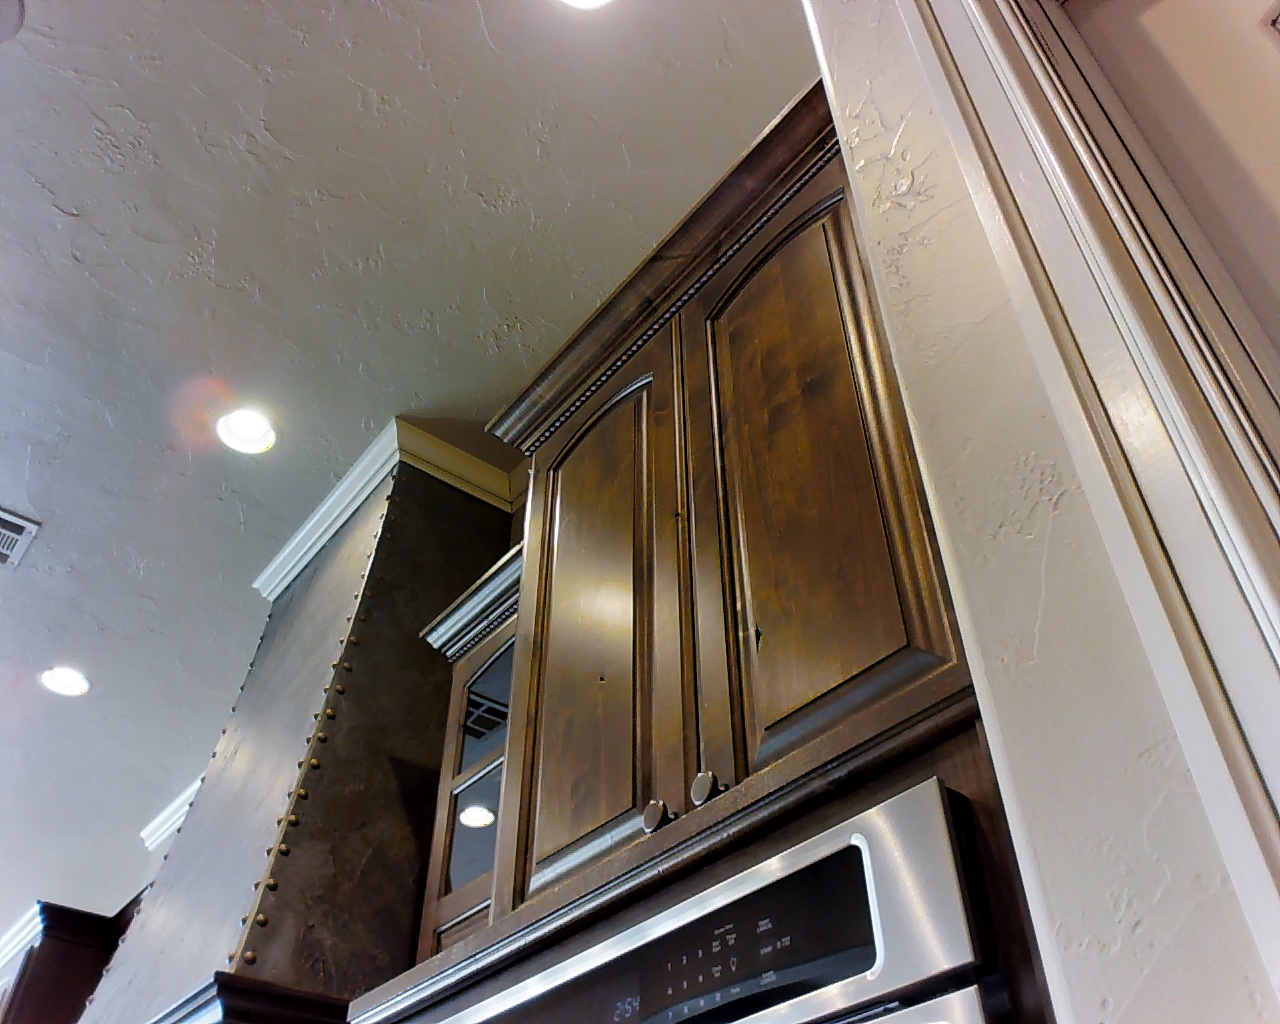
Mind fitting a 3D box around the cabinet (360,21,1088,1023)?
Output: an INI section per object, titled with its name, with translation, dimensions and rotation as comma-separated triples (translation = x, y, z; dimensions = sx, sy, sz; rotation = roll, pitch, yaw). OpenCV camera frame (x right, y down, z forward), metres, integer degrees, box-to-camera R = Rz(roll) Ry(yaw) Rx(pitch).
[cabinet]
translation = 0.000, -0.010, 1.390
dimensions = 0.130, 1.030, 0.910
rotation = 28, -49, -28
